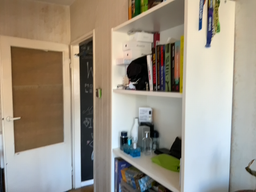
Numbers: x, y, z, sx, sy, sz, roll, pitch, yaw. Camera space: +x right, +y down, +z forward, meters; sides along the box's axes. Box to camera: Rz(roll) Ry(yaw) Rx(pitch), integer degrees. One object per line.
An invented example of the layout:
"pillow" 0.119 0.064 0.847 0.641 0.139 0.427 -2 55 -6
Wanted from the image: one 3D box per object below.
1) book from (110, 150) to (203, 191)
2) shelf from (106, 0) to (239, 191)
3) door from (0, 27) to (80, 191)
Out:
"book" 0.100 0.500 1.030 0.140 0.290 0.580 -2 5 -29
"shelf" 0.130 0.510 1.090 0.240 1.810 0.680 -2 5 -29
"door" -1.040 0.290 2.630 0.110 2.050 0.950 5 6 43
